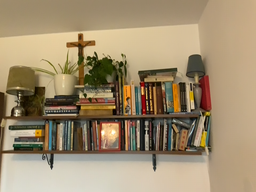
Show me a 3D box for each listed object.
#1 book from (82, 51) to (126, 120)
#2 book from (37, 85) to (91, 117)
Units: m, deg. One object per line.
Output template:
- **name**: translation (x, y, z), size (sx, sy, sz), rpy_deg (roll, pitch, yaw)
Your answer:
- **book**: translation (-0.170, -0.070, 1.640), size (0.300, 0.490, 0.240), rpy_deg (0, -10, 2)
- **book**: translation (-0.480, 0.050, 1.650), size (0.310, 0.210, 0.270), rpy_deg (-1, -10, 5)
